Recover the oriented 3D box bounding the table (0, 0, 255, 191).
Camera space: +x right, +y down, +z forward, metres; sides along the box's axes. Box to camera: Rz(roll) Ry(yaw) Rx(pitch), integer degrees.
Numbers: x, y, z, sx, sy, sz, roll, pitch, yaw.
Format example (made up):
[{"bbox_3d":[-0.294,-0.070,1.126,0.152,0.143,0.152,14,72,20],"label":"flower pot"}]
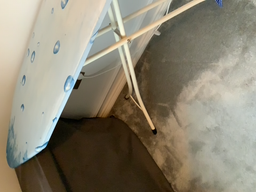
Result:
[{"bbox_3d":[-0.040,-0.200,1.200,0.560,0.860,1.610,48,120,35],"label":"table"}]
